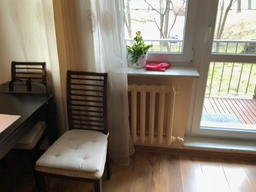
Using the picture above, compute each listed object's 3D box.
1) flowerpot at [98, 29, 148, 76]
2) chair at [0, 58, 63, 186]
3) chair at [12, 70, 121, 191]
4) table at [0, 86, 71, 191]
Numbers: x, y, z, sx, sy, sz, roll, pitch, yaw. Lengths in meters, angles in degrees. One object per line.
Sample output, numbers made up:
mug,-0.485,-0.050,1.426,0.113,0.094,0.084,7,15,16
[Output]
flowerpot,-0.040,-0.390,1.880,0.400,0.360,0.260,0,24,1
chair,-0.870,0.210,1.800,0.370,0.960,0.470,1,24,3
chair,-0.350,0.340,1.550,0.480,0.920,0.530,4,24,10
table,-1.140,0.450,1.510,1.070,0.750,0.940,3,24,7
